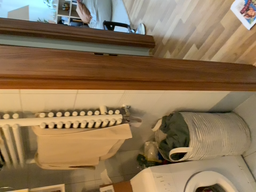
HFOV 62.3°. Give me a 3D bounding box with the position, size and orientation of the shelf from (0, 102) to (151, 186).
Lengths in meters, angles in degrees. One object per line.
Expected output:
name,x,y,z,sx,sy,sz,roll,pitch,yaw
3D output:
shelf,-0.640,0.340,1.330,0.790,1.360,0.200,121,142,-50
